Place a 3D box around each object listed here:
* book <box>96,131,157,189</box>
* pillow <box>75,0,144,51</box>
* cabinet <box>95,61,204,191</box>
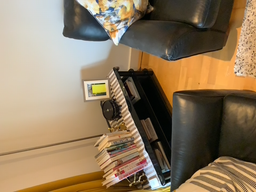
[{"bbox_3d":[-0.020,0.510,1.720,0.220,0.340,0.320,-47,59,44],"label":"book"},{"bbox_3d":[-0.130,-0.580,1.510,0.160,0.340,0.480,54,133,32],"label":"pillow"},{"bbox_3d":[0.160,0.250,2.040,0.400,0.500,1.140,-45,60,45],"label":"cabinet"}]
